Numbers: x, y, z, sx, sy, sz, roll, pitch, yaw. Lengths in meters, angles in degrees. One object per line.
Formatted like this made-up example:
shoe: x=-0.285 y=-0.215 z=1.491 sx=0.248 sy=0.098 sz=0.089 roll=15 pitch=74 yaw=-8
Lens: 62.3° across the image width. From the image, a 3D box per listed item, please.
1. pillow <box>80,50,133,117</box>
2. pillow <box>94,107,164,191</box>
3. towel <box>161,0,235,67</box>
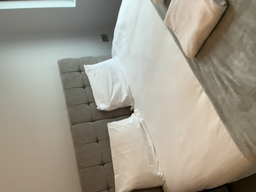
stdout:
pillow: x=-0.260 y=-0.170 z=2.500 sx=0.150 sy=0.430 sz=0.750 roll=89 pitch=163 yaw=-60
pillow: x=-0.010 y=0.530 z=2.130 sx=0.280 sy=0.470 sz=0.700 roll=92 pitch=161 yaw=-60
towel: x=0.350 y=-0.440 z=1.190 sx=0.390 sy=0.070 sz=0.380 roll=110 pitch=146 yaw=-54
